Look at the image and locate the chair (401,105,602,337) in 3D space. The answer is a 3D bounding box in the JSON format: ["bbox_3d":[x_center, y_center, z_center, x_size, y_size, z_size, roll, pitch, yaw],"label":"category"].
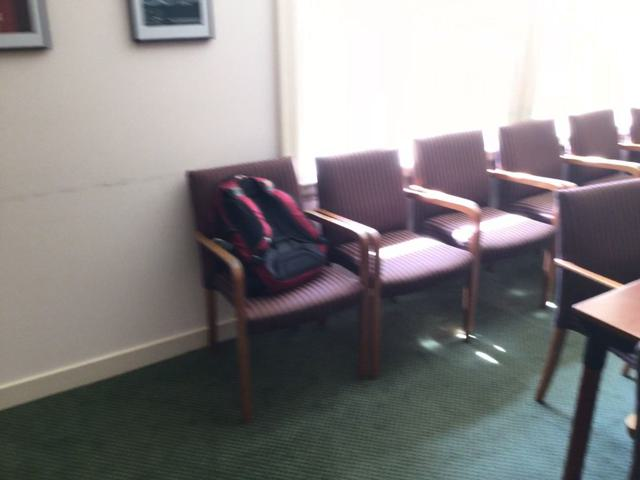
[{"bbox_3d":[0.830,-0.130,2.790,0.620,0.850,0.610,-16,27,-23],"label":"chair"}]

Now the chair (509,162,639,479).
[{"bbox_3d":[1.080,0.250,1.910,0.580,0.830,0.650,-9,25,-9],"label":"chair"}]

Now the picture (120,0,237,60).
[{"bbox_3d":[-0.510,-0.910,2.010,0.380,0.500,0.050,-16,27,-23],"label":"picture"}]

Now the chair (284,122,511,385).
[{"bbox_3d":[0.320,0.010,2.510,0.680,0.830,0.620,-16,27,-23],"label":"chair"}]

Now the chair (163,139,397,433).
[{"bbox_3d":[-0.150,0.130,2.300,0.650,0.840,0.620,-16,27,-23],"label":"chair"}]

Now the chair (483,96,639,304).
[{"bbox_3d":[1.290,-0.240,2.980,0.570,0.830,0.610,-16,27,-23],"label":"chair"}]
